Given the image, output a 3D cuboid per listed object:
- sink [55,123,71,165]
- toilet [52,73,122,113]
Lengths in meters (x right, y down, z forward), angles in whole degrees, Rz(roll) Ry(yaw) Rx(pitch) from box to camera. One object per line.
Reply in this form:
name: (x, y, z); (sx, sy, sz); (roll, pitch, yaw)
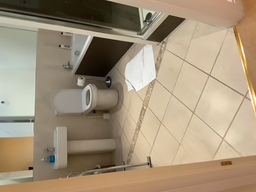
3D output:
sink: (-0.900, 0.660, 2.890); (0.440, 0.140, 0.510); (146, 122, -60)
toilet: (-0.630, -0.010, 3.120); (0.650, 0.870, 0.380); (146, 122, -60)
